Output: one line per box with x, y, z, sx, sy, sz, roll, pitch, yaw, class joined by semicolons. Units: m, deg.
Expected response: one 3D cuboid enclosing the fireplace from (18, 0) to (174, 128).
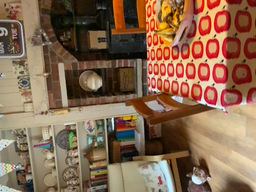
-0.390;-0.800;2.910;0.790;1.810;2.130;-158;64;-73;fireplace

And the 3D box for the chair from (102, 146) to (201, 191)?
0.230;1.080;2.810;0.880;0.980;0.540;118;144;-63;chair

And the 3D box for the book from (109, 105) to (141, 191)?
-0.050;0.850;3.480;0.260;0.380;1.350;-169;75;-74;book

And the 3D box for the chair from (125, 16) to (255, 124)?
0.510;-0.200;1.360;0.490;0.960;0.510;-141;48;-69;chair

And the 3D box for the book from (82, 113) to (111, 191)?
-0.490;0.930;3.290;0.270;0.330;1.270;-169;75;-74;book
